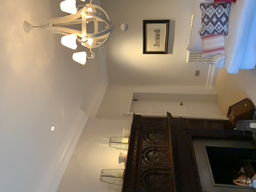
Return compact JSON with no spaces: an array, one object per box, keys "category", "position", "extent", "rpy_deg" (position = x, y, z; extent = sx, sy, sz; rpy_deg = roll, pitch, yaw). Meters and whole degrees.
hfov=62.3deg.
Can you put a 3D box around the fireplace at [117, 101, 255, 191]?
[{"category":"fireplace","position":[0.930,1.150,3.130],"extent":[2.090,1.920,1.080],"rpy_deg":[-78,-12,-57]}]

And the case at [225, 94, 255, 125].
[{"category":"case","position":[1.800,0.210,3.390],"extent":[0.330,0.330,0.350],"rpy_deg":[-76,-13,-61]}]

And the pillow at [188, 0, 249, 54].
[{"category":"pillow","position":[1.330,-1.090,3.230],"extent":[0.760,0.410,0.280],"rpy_deg":[-50,9,34]}]
